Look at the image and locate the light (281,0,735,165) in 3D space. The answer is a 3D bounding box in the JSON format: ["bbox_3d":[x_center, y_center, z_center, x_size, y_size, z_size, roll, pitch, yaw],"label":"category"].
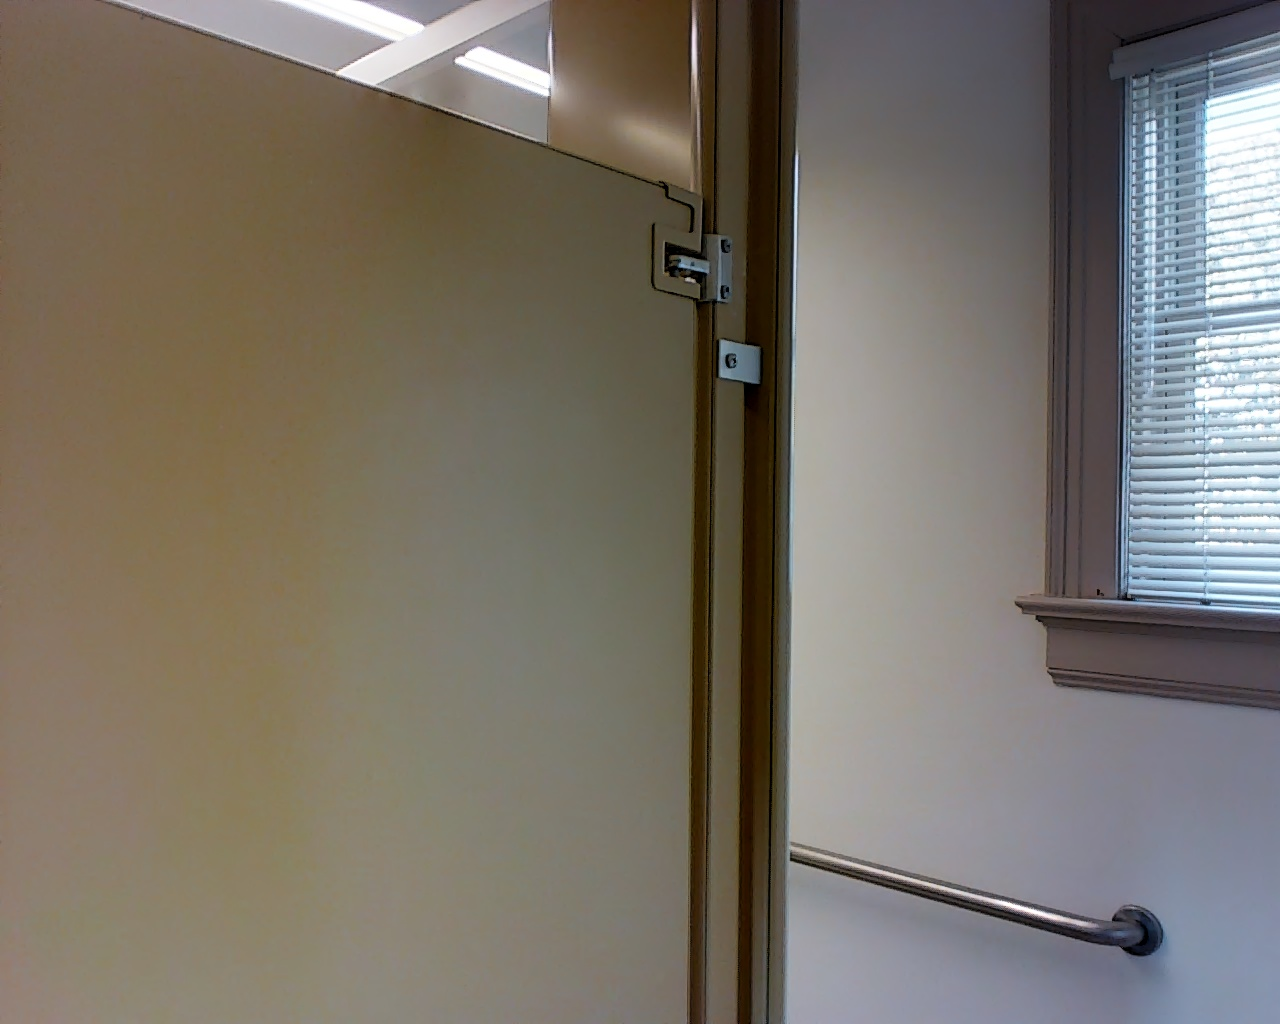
[{"bbox_3d":[-0.170,-0.810,1.900,0.110,0.130,0.940,1,0,44],"label":"light"}]

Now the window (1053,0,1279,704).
[{"bbox_3d":[1.090,-0.310,1.600,0.840,1.190,0.230,1,0,44],"label":"window"}]
